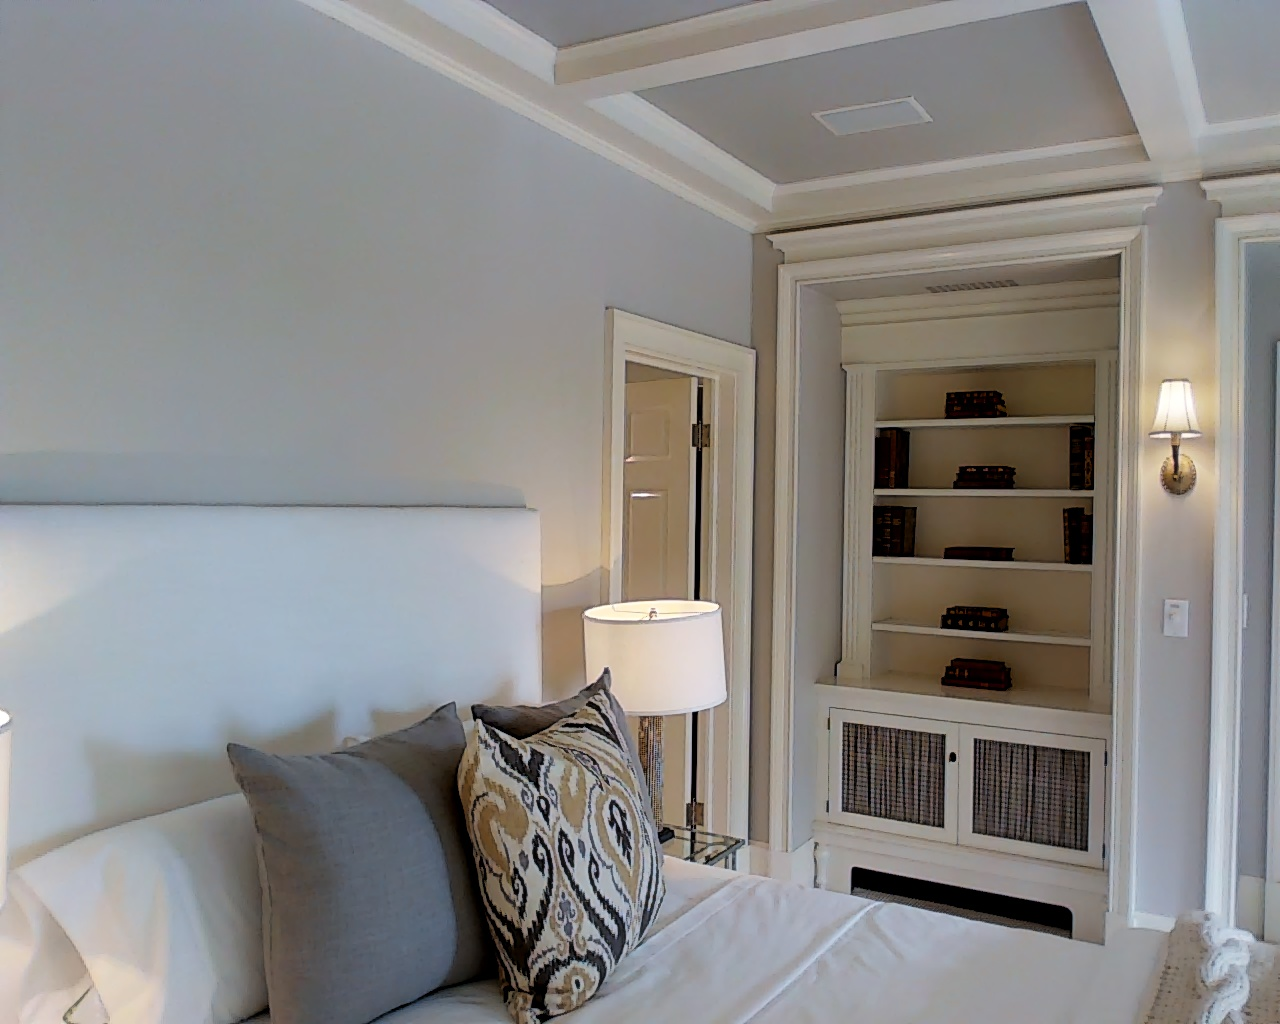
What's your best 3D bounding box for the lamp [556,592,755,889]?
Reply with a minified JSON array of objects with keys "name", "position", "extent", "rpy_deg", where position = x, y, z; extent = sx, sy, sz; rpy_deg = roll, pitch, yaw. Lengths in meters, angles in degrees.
[{"name":"lamp","position":[0.050,0.600,3.010],"extent":[0.400,0.710,0.410],"rpy_deg":[1,0,31]}]
